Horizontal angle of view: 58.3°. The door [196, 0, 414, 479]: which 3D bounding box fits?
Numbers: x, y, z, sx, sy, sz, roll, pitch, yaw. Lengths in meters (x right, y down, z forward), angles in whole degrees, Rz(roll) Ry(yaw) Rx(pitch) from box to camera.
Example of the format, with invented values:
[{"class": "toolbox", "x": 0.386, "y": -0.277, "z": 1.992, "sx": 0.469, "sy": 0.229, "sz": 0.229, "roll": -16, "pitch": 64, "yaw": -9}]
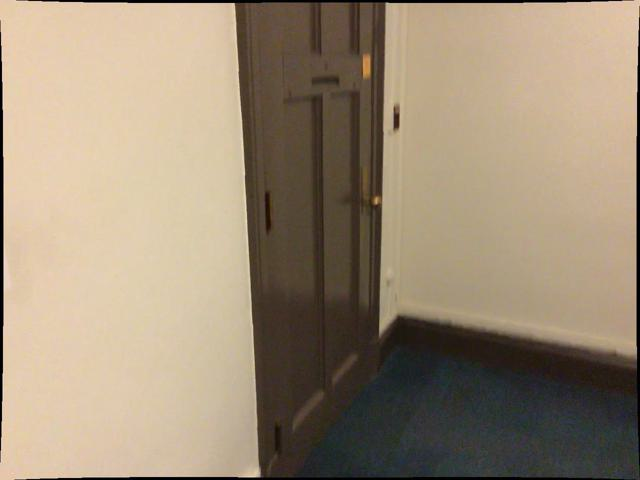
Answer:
[{"class": "door", "x": 0.070, "y": -0.330, "z": 2.170, "sx": 0.120, "sy": 2.252, "sz": 1.490, "roll": 7, "pitch": 19, "yaw": 24}]
